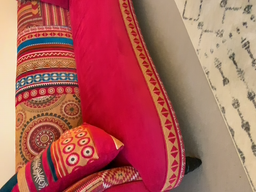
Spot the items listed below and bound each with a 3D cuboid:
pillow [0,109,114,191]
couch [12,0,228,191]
[{"bbox_3d":[-0.380,0.300,1.090,0.200,0.500,0.540,-56,11,-10],"label":"pillow"},{"bbox_3d":[-0.350,-0.370,1.560,1.030,0.770,2.470,-40,55,48],"label":"couch"}]
